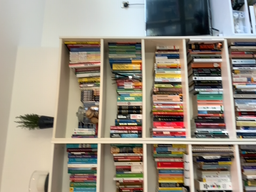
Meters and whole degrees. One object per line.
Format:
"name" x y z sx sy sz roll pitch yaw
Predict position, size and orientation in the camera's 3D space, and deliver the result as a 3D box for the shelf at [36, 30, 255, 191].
"shelf" 0.440 0.340 1.630 0.350 2.080 1.660 95 175 -77
